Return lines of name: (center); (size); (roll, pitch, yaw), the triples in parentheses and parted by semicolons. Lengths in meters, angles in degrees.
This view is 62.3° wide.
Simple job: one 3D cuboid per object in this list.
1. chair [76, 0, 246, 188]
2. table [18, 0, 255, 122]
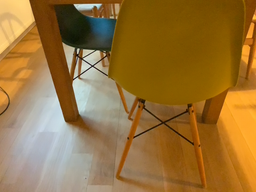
chair: (0.120, -0.040, 0.900); (0.400, 0.730, 0.440); (7, 40, 10)
table: (0.070, -0.750, 1.790); (0.930, 0.720, 1.980); (0, 39, 2)
